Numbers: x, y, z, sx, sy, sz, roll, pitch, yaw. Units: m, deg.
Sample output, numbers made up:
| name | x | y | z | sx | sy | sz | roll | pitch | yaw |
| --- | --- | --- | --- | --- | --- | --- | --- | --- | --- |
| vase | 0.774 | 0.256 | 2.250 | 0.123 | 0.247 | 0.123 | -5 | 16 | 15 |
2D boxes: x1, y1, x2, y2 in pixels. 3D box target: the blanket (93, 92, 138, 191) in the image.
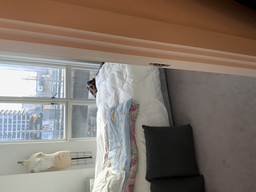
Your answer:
| name | x | y | z | sx | sy | sz | roll | pitch | yaw |
| --- | --- | --- | --- | --- | --- | --- | --- | --- | --- |
| blanket | -0.200 | 0.750 | 2.580 | 0.960 | 0.180 | 1.350 | 140 | 128 | -60 |
